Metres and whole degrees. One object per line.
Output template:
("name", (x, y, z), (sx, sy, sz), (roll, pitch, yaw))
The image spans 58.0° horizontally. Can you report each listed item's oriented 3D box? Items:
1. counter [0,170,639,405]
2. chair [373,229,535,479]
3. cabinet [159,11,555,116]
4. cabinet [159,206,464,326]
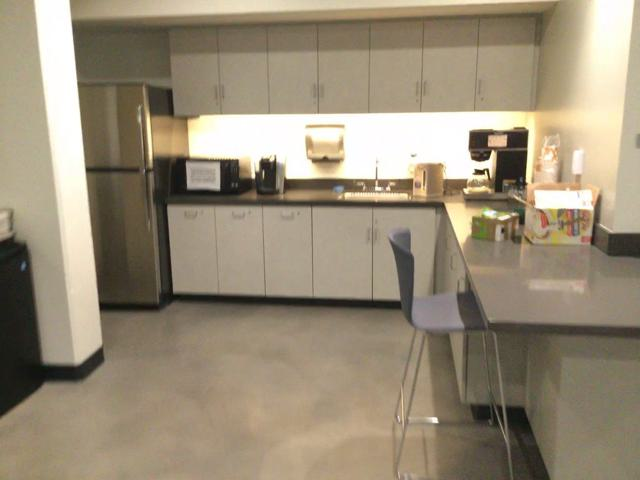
("counter", (0.120, -0.060, 3.110), (2.860, 0.310, 2.990), (2, 13, 9))
("chair", (0.490, 0.460, 2.280), (0.510, 0.900, 0.570), (2, 13, 9))
("cabinet", (0.190, -1.190, 3.990), (2.640, 0.640, 0.150), (2, 13, 9))
("cabinet", (-0.090, 0.170, 4.130), (2.140, 0.780, 0.110), (2, 13, 9))
